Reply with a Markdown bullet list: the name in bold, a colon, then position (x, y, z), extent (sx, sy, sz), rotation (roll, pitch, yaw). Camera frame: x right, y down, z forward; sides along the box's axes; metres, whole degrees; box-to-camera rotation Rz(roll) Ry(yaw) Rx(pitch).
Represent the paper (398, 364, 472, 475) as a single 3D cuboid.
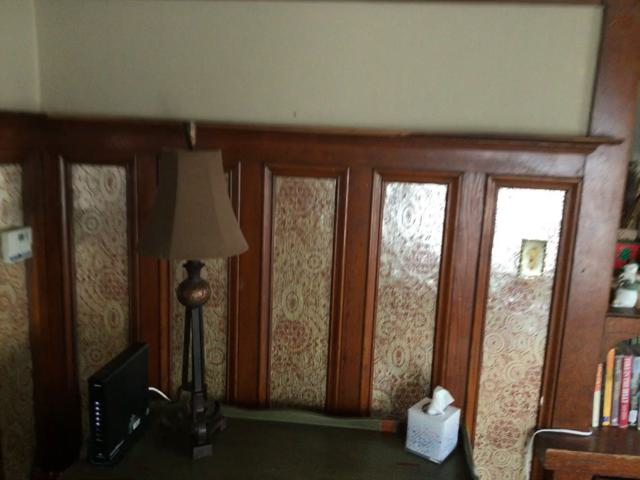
- **paper**: position (0.340, 0.520, 1.710), extent (0.180, 0.200, 0.250), rotation (6, 10, 11)
